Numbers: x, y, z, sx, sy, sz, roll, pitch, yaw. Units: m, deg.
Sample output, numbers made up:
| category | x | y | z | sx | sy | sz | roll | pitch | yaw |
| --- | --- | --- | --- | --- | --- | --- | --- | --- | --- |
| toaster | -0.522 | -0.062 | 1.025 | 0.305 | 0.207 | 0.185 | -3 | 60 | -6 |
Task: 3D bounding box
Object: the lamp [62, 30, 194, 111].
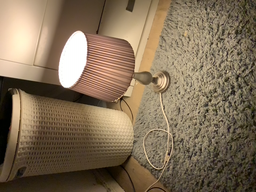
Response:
| category | x | y | z | sx | sy | sz | roll | pitch | yaw |
| --- | --- | --- | --- | --- | --- | --- | --- | --- | --- |
| lamp | 0.010 | -0.100 | 0.920 | 0.260 | 0.470 | 0.220 | 25 | 103 | 51 |
